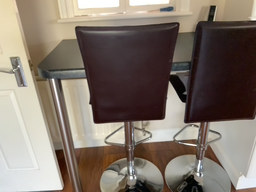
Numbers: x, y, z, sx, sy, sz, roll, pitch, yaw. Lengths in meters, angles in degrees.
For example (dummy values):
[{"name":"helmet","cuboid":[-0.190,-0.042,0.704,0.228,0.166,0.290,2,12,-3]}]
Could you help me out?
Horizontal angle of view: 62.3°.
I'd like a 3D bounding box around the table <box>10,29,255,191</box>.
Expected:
[{"name":"table","cuboid":[0.120,0.130,1.350,1.190,0.910,0.600,-4,27,-3]}]
